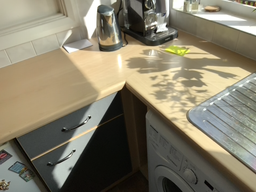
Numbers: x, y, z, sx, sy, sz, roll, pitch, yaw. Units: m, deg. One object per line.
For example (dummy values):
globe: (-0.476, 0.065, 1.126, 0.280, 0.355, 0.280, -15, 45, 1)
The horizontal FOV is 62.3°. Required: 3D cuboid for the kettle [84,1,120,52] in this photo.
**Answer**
kettle: (-0.150, -0.420, 1.280, 0.170, 0.230, 0.160, -7, 40, -1)
